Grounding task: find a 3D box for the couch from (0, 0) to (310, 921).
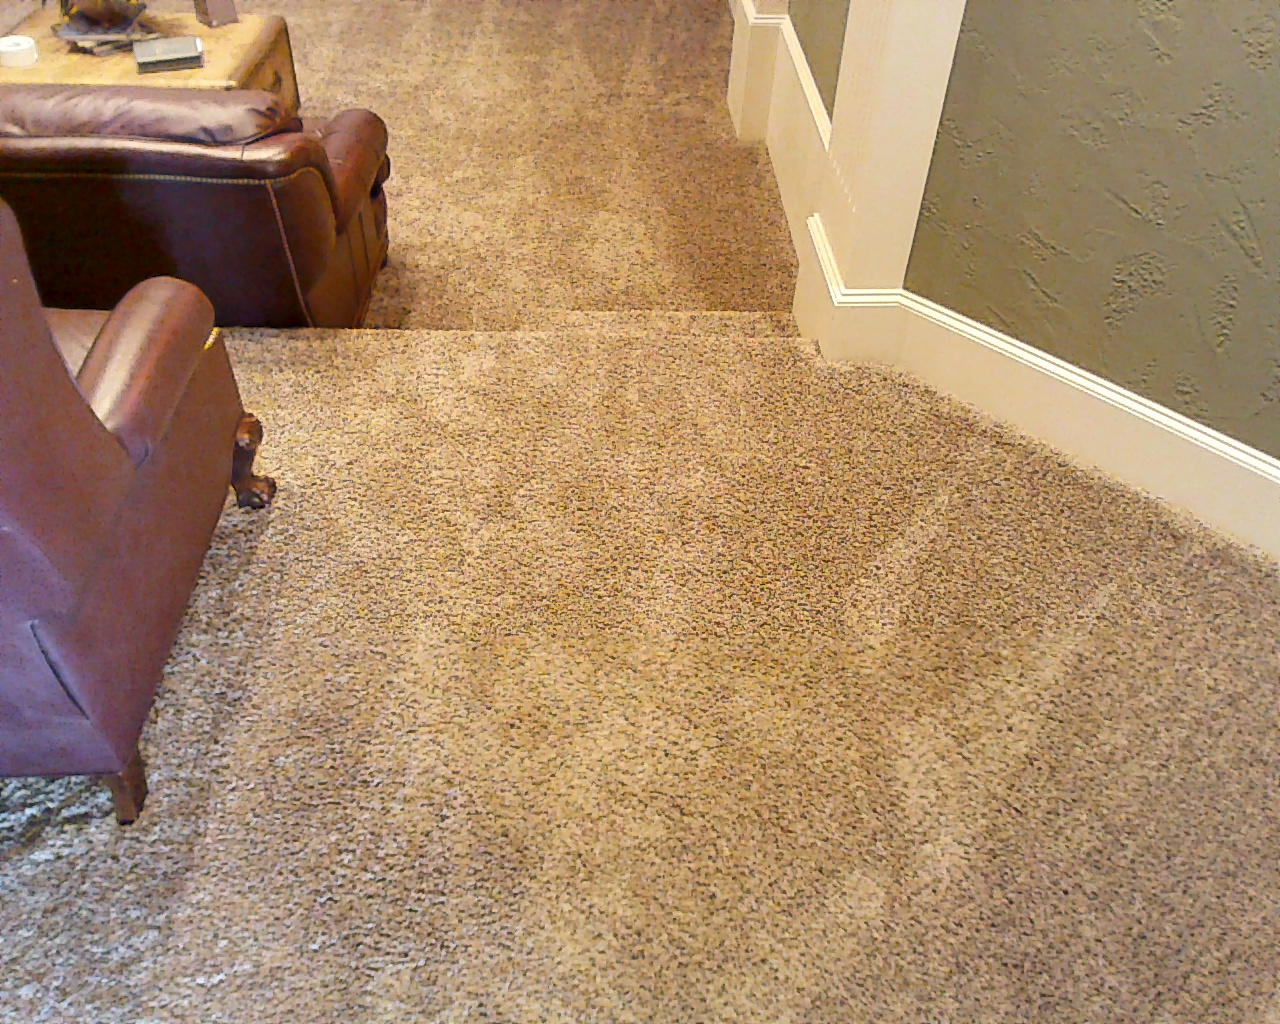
[{"bbox_3d":[-1.110,-0.120,1.590,0.840,1.090,0.980,0,42,-2],"label":"couch"}]
